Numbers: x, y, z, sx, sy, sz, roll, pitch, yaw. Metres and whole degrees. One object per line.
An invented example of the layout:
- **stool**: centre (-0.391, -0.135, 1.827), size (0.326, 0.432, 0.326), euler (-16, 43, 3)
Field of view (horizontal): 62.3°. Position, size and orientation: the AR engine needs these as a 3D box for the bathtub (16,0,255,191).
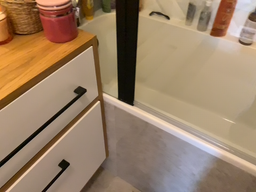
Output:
- **bathtub**: centre (0.400, 0.150, 1.020), size (1.660, 0.600, 0.700), euler (26, 50, 22)
